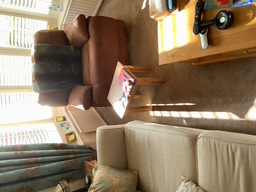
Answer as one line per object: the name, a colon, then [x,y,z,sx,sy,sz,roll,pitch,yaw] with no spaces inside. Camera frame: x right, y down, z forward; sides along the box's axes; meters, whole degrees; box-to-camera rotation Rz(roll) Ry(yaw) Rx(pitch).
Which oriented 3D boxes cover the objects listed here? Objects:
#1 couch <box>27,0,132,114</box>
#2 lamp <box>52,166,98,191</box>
couch: [-0.660,-0.410,2.760,1.000,0.980,1.130,-1,92,56]
lamp: [-0.580,1.140,2.380,0.250,0.430,0.560,-13,82,55]
